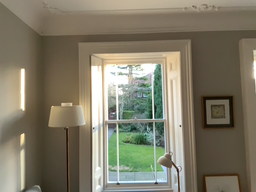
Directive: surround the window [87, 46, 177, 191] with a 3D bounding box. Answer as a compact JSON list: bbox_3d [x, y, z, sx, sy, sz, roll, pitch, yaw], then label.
[{"bbox_3d":[0.050,0.380,3.440,1.340,2.280,0.340,-1,-3,-1],"label":"window"}]
